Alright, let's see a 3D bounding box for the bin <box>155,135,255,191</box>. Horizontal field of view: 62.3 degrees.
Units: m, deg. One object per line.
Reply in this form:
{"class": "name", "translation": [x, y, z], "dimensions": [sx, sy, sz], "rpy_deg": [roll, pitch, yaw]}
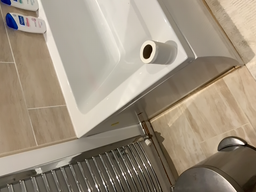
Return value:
{"class": "bin", "translation": [0.390, 0.370, 0.930], "dimensions": [0.260, 0.440, 0.240], "rpy_deg": [-36, 70, 39]}

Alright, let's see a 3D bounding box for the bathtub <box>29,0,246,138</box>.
{"class": "bathtub", "translation": [-0.160, -0.710, 1.270], "dimensions": [0.710, 0.580, 1.670], "rpy_deg": [-36, 69, 39]}
